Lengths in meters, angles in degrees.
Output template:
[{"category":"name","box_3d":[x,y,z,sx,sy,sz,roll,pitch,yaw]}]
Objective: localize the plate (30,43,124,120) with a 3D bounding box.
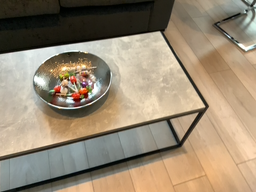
[{"category":"plate","box_3d":[-0.220,-0.080,0.880,0.330,0.040,0.310,-11,56,-13]}]
